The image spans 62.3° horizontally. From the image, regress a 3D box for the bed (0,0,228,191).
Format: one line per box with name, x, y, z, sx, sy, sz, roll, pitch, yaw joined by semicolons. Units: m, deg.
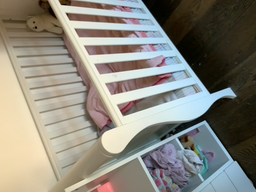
bed;-0.230;-0.310;1.480;1.410;0.860;0.750;59;136;19
